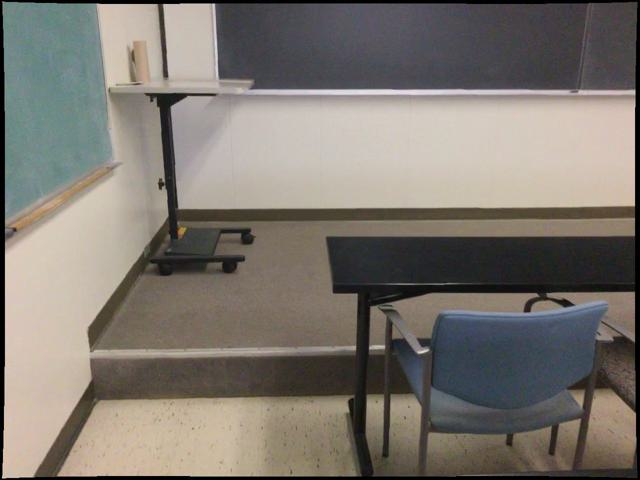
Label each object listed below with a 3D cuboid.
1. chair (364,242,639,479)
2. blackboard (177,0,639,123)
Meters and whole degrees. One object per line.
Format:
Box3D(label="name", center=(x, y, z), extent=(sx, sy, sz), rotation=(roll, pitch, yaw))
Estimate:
Box3D(label="chair", center=(0.509, 0.481, 1.870), extent=(0.648, 0.792, 0.610), rotation=(-1, 17, -2))
Box3D(label="blackboard", center=(1.855, -1.524, 3.620), extent=(5.376, 1.473, 0.470), rotation=(-1, 17, -3))
